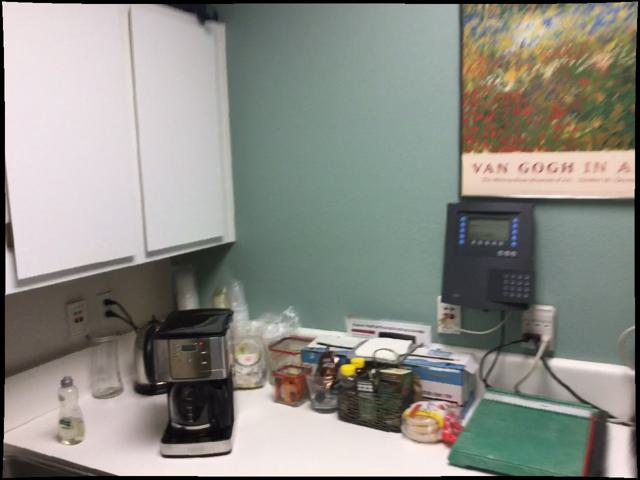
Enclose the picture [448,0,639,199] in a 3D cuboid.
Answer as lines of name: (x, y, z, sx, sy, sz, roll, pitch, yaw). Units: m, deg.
picture: (0.669, -0.591, 1.510, 0.659, 0.961, 0.060, 2, 9, 26)
